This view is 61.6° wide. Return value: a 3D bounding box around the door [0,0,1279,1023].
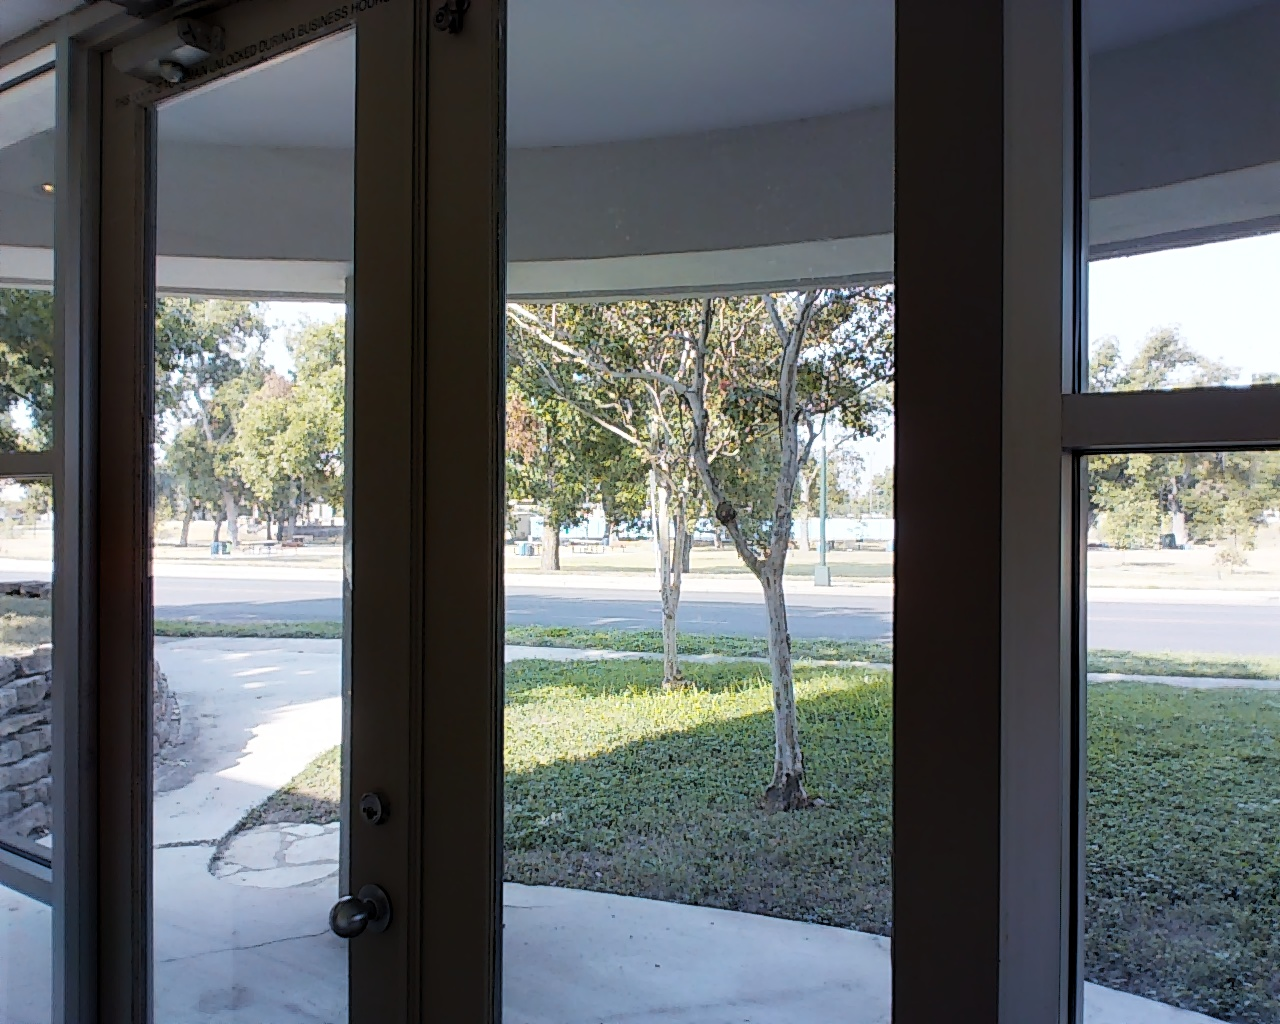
[{"bbox_3d":[-0.120,0.290,1.270,2.720,2.360,0.140,1,0,35],"label":"door"}]
